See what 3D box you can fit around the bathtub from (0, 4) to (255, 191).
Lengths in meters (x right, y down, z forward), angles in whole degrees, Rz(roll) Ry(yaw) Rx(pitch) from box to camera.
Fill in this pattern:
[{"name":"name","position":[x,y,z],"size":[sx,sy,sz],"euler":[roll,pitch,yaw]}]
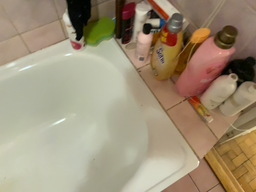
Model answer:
[{"name":"bathtub","position":[-0.430,0.320,0.920],"size":[1.630,0.560,0.690],"euler":[-27,70,-15]}]
